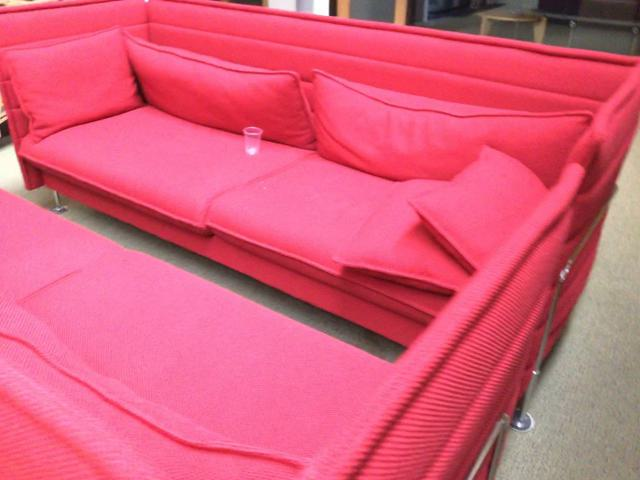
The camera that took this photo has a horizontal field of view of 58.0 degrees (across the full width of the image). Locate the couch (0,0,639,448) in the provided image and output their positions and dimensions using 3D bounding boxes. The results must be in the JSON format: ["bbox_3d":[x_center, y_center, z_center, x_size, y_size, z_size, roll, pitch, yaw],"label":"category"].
[{"bbox_3d":[-0.220,-0.400,2.250,2.490,0.880,0.980,20,35,29],"label":"couch"}]
